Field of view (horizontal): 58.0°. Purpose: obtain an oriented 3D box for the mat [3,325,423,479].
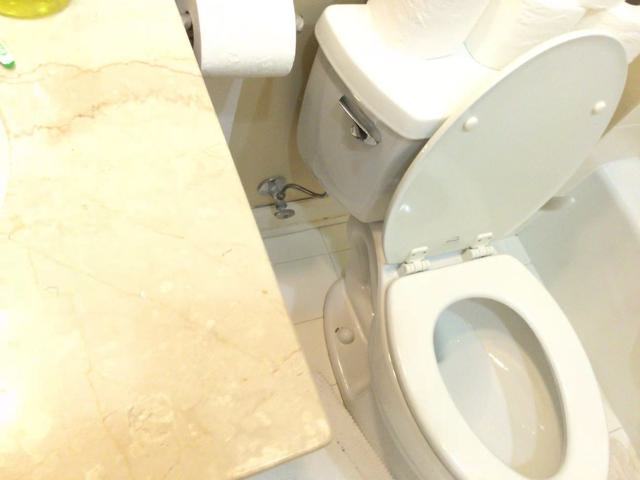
[{"bbox_3d":[-0.120,0.530,1.010,0.670,0.060,0.560,-21,69,-27],"label":"mat"}]
